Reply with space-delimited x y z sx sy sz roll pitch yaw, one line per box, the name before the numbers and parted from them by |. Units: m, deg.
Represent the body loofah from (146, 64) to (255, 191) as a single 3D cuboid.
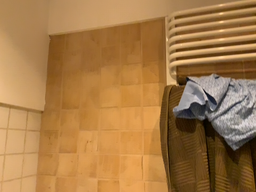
body loofah | 0.270 0.240 0.710 0.380 0.640 0.170 -3 -11 17
